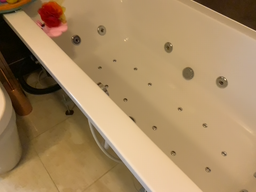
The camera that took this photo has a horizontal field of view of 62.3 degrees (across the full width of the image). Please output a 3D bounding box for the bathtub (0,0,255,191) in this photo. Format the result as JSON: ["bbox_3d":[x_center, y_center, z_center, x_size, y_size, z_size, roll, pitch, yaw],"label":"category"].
[{"bbox_3d":[0.120,-0.040,1.160,0.890,0.590,1.810,-32,57,-25],"label":"bathtub"}]
